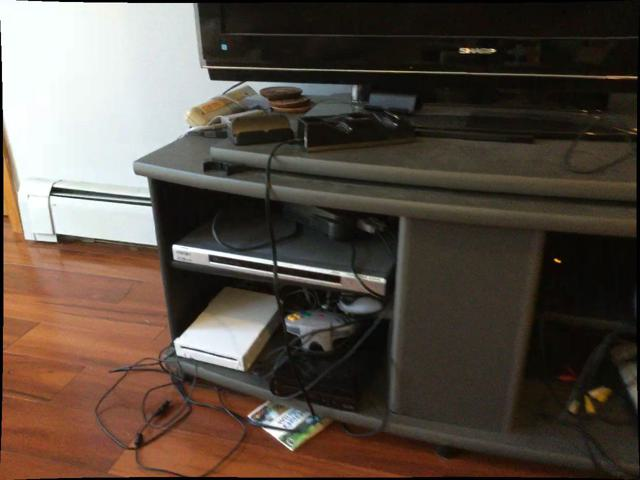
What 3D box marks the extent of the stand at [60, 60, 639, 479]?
[{"bbox_3d":[0.280,-0.020,1.190,1.269,0.590,0.660,5,24,14],"label":"stand"}]
